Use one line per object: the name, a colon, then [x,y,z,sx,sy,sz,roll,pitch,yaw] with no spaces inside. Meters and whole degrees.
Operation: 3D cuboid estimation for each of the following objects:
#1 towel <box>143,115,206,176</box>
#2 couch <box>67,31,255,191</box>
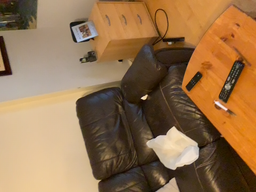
towel: [0.310,0.380,1.550,0.310,0.100,0.450,65,149,19]
couch: [0.360,0.680,1.610,0.980,0.930,2.030,-47,62,57]
